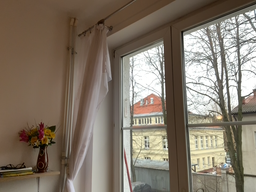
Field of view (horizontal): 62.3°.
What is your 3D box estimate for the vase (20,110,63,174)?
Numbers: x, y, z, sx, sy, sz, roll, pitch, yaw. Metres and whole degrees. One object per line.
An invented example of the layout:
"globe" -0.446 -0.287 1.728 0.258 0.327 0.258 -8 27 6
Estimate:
"vase" -0.670 0.350 1.670 0.120 0.450 0.260 -10 -14 41
